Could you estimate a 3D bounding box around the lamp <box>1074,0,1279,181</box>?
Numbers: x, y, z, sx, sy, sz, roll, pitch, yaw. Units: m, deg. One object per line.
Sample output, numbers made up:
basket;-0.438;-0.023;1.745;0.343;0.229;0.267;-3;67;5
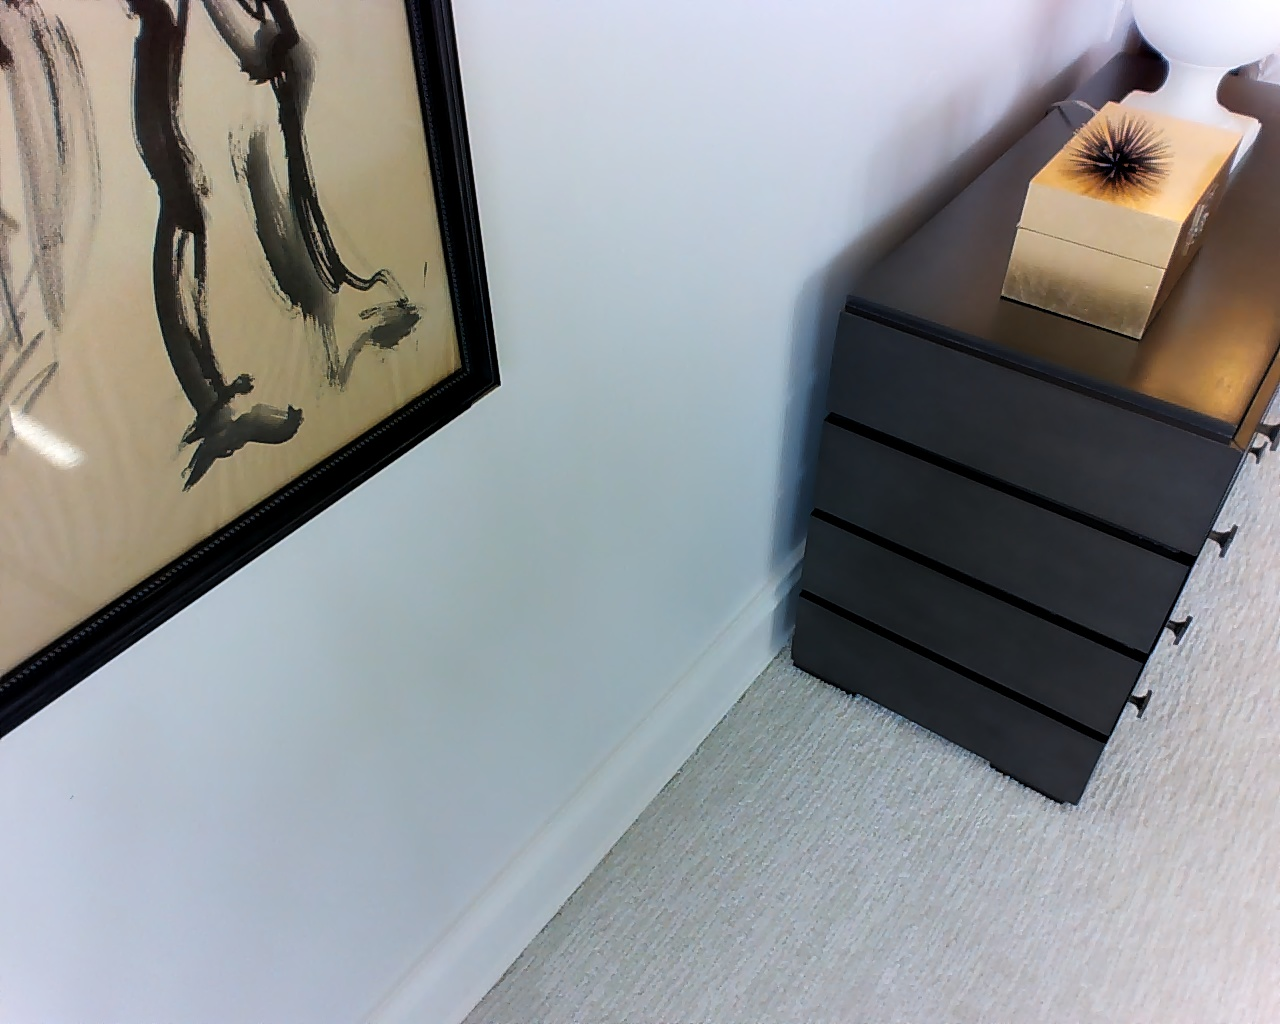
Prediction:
lamp;0.960;-0.840;1.760;0.290;0.450;0.270;27;49;27
